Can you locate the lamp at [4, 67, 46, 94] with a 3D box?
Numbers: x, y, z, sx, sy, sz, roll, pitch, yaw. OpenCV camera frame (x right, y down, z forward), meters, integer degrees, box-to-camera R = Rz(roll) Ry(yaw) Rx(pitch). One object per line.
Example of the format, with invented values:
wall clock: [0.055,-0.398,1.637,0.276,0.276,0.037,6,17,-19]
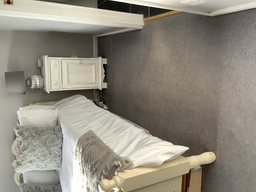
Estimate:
lamp: [-1.190,-0.190,2.450,0.290,0.400,0.280,19,110,60]
